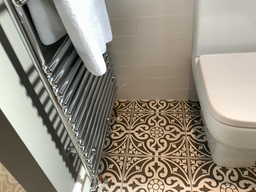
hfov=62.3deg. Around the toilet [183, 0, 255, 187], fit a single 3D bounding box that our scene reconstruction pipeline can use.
[{"bbox_3d":[0.500,-0.080,0.950,0.390,0.780,0.620,-2,41,8],"label":"toilet"}]
